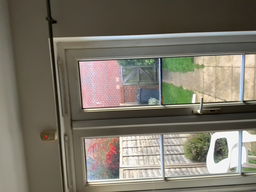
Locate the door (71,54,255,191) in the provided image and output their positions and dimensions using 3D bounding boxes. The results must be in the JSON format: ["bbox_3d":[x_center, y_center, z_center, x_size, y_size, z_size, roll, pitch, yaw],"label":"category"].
[{"bbox_3d":[0.650,0.230,1.650,0.060,2.080,1.070,-107,15,-81],"label":"door"}]
